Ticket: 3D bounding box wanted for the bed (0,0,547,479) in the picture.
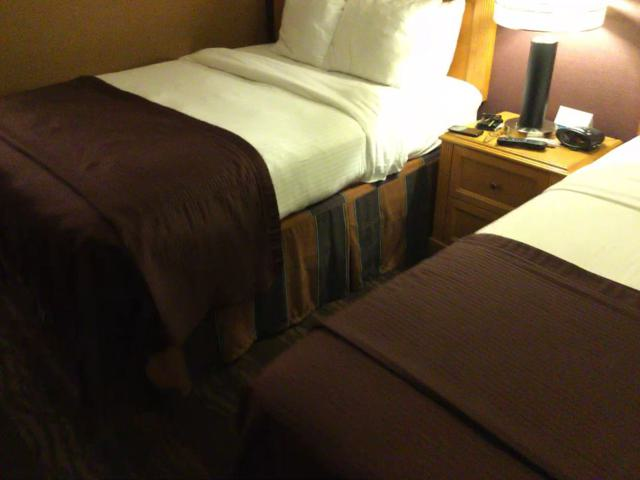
[{"bbox_3d":[-0.460,-0.530,2.630,2.100,1.350,1.850,-22,35,-36],"label":"bed"}]
